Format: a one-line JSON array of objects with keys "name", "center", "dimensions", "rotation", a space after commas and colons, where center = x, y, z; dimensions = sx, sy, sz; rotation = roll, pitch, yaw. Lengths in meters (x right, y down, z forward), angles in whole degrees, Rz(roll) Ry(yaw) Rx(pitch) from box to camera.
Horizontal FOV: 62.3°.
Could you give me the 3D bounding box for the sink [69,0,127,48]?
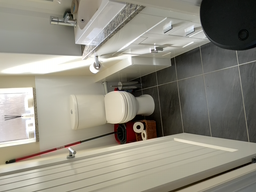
[{"name": "sink", "center": [-0.220, -0.550, 1.340], "dimensions": [0.590, 0.130, 0.300], "rotation": [-13, 81, 59]}]
